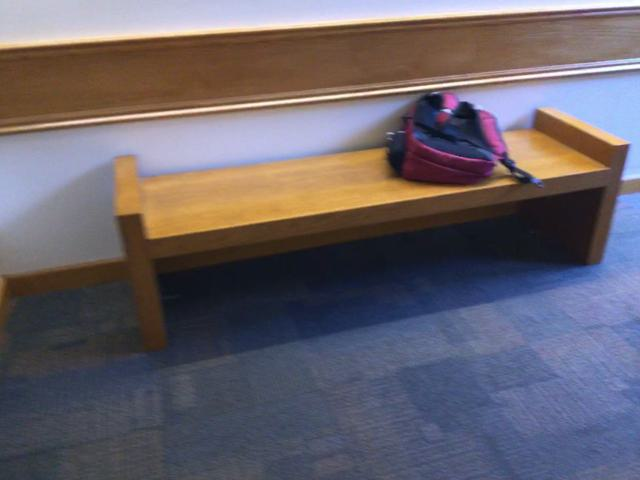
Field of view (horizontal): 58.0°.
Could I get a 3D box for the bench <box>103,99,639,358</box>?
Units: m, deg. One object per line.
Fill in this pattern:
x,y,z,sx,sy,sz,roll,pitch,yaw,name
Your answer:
0.240,-0.110,2.220,1.910,0.540,0.570,-8,32,-12,bench

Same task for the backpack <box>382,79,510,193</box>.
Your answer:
0.480,-0.410,2.180,0.410,0.250,0.460,7,32,13,backpack
